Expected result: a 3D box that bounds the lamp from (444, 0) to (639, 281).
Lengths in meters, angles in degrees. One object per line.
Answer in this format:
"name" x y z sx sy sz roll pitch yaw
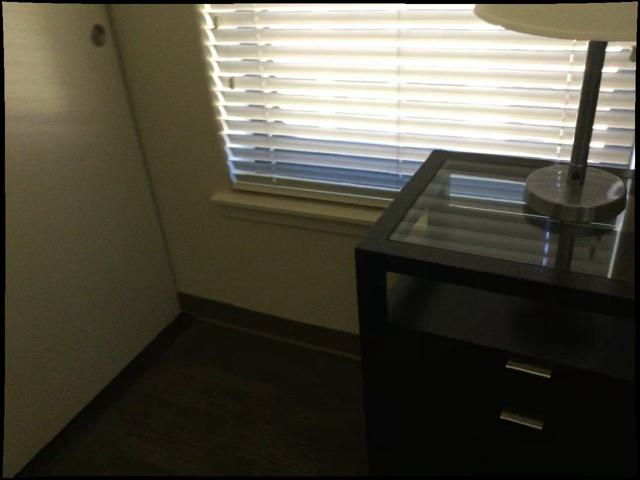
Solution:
"lamp" 0.450 -0.310 1.010 0.360 0.620 0.360 10 35 24
